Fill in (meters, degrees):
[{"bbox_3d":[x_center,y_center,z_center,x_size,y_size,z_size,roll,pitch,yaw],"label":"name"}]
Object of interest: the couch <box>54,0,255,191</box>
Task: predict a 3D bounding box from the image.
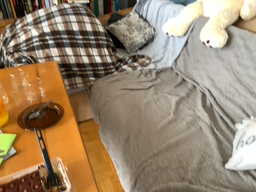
[{"bbox_3d":[0.320,-0.110,1.510,1.210,0.770,2.110,-13,37,-20],"label":"couch"}]
